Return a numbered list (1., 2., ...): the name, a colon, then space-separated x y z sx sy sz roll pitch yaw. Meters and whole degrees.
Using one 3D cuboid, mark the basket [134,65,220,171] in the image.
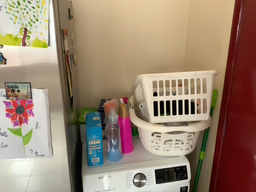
1. basket: 0.250 0.120 1.220 0.400 0.560 0.200 -2 19 -5
